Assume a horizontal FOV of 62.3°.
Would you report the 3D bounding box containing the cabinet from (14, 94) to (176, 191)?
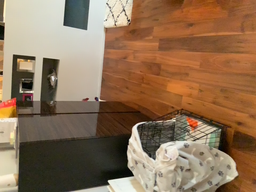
[{"bbox_3d":[-0.430,0.360,2.230,1.170,1.320,0.460,26,110,58],"label":"cabinet"}]
